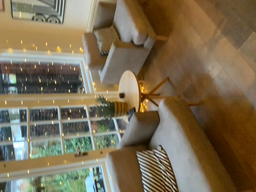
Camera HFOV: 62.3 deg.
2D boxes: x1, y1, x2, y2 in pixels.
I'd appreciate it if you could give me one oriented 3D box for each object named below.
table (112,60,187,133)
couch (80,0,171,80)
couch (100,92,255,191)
[{"bbox_3d":[0.210,0.010,2.560,0.600,0.540,0.600,116,143,-45],"label":"table"},{"bbox_3d":[-0.120,-0.850,2.920,0.840,0.810,0.950,117,142,-46],"label":"couch"},{"bbox_3d":[0.340,0.630,2.000,0.890,0.830,0.980,116,143,-45],"label":"couch"}]
